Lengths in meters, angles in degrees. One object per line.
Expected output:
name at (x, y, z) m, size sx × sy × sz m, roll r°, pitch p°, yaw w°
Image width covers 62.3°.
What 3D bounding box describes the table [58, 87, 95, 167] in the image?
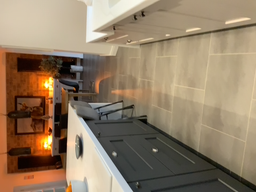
table at (-1.490, 0.800, 5.950) m, size 1.030 × 0.770 × 1.950 m, roll -156°, pitch 68°, yaw -65°
